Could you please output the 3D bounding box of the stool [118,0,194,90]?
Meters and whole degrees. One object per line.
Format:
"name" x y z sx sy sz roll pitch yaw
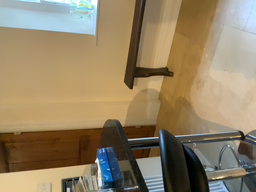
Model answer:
"stool" 0.270 -0.710 2.010 0.250 0.520 1.350 -120 35 -55
